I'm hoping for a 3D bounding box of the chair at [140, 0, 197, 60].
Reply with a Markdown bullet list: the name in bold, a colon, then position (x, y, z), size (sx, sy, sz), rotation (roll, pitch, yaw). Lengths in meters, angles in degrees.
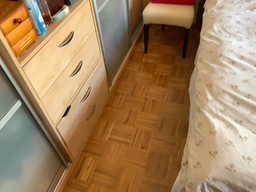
- **chair**: position (0.420, -0.940, 2.020), size (0.460, 0.960, 0.590), rotation (10, 49, 14)
